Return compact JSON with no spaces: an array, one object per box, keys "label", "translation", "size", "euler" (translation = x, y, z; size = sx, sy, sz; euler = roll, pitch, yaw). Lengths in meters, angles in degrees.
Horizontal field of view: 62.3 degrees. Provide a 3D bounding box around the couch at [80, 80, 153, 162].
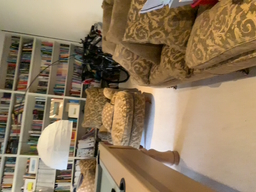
[{"label":"couch","translation":[-0.330,0.300,3.620],"size":[1.710,0.810,0.960],"euler":[-153,71,-74]}]
